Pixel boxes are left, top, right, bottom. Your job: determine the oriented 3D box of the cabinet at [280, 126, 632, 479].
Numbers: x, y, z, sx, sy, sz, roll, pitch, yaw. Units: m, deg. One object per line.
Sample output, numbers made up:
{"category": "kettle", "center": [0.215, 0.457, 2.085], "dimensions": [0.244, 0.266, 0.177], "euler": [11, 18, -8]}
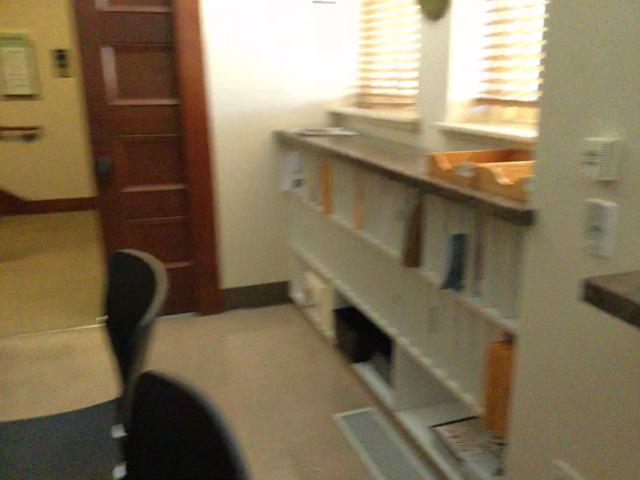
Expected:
{"category": "cabinet", "center": [0.270, 0.110, 2.600], "dimensions": [0.320, 1.010, 2.300], "euler": [-5, 18, -18]}
